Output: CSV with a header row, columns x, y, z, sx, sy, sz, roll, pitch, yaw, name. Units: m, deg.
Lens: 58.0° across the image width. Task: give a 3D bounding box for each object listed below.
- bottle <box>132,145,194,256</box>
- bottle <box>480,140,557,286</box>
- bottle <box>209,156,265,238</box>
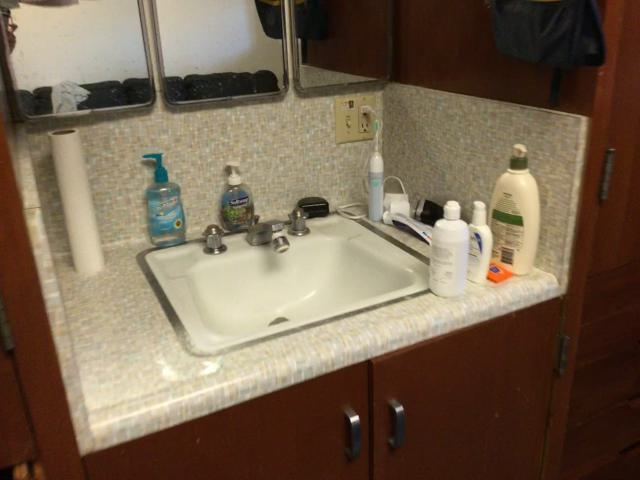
x,y,z,sx,sy,sz,roll,pitch,yaw,name
-0.350,-0.090,1.290,0.080,0.220,0.090,-15,25,-23,bottle
0.360,-0.050,1.060,0.080,0.240,0.090,-15,25,-23,bottle
-0.190,-0.100,1.330,0.090,0.160,0.070,-15,25,-23,bottle
